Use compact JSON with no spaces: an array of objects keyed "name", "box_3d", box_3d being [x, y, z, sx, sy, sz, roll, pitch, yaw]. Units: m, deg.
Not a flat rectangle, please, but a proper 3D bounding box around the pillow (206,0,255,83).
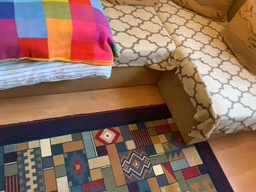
[{"name":"pillow","box_3d":[0.900,-0.460,1.550,0.210,0.340,0.640,-6,57,-23]}]
